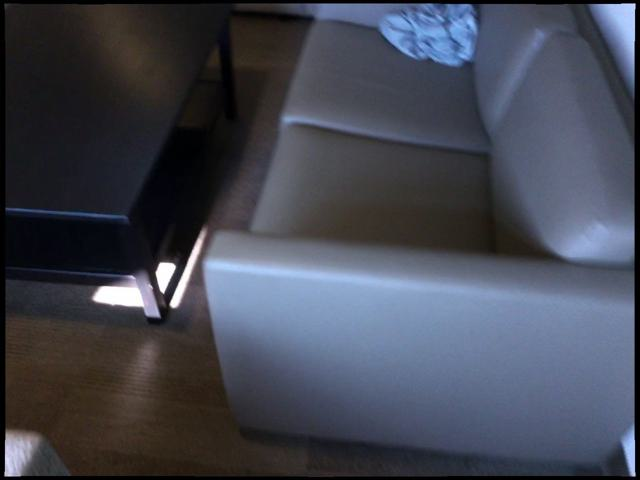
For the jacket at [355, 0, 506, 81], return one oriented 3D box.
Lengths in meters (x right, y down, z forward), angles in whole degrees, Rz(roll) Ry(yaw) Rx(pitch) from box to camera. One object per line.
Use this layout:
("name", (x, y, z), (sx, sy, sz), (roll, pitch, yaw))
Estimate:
("jacket", (0.369, -0.742, 1.970), (0.400, 0.160, 0.290), (29, 52, 24))
